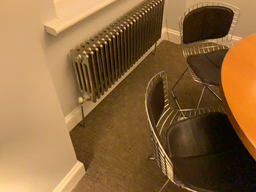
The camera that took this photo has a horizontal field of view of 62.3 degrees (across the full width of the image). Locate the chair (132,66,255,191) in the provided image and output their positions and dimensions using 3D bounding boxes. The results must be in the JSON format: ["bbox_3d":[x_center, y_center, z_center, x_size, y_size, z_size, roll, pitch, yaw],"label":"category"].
[{"bbox_3d":[0.360,0.300,1.070,0.590,0.710,0.440,-8,45,-9],"label":"chair"}]

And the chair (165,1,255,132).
[{"bbox_3d":[0.640,-0.220,1.600,0.460,0.730,0.590,-8,45,-8],"label":"chair"}]
